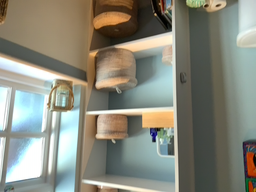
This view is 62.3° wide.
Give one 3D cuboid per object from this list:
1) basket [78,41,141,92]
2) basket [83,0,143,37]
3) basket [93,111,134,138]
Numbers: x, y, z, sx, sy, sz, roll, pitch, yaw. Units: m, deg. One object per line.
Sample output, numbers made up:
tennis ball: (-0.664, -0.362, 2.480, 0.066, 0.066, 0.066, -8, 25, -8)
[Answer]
basket: (-0.130, -0.200, 1.600, 0.380, 0.280, 0.270, -3, 169, 24)
basket: (-0.110, -0.690, 1.670, 0.390, 0.300, 0.250, -3, 169, 24)
basket: (-0.100, 0.220, 1.590, 0.210, 0.180, 0.250, -3, 169, 23)
